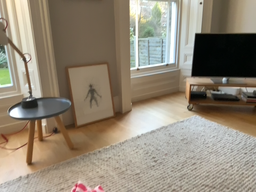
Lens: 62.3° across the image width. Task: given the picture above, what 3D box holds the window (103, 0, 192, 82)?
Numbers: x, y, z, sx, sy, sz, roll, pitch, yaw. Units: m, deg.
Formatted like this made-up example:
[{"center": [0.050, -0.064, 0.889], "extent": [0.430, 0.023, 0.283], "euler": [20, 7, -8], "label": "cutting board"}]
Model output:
[{"center": [0.330, -1.400, 3.080], "extent": [1.350, 2.170, 0.410], "euler": [-13, 22, -34], "label": "window"}]

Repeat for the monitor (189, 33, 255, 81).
[{"center": [1.280, -0.480, 2.640], "extent": [0.960, 0.580, 0.050], "euler": [1, 18, 6], "label": "monitor"}]
